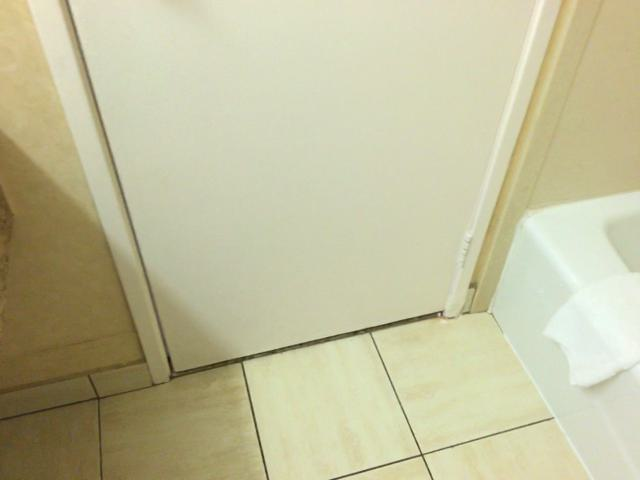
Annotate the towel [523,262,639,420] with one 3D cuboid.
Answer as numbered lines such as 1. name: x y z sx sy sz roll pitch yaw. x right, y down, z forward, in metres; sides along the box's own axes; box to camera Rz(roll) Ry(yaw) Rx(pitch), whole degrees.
1. towel: 0.590 0.200 1.170 0.230 0.190 0.200 -12 47 -12
